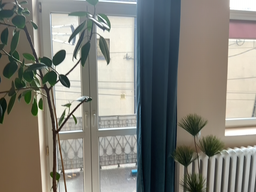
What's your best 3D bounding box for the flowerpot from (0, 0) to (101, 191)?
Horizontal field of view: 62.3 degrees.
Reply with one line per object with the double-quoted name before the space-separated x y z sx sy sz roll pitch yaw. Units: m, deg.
"flowerpot" -0.860 0.210 1.610 1.260 2.290 0.580 -1 7 -10
